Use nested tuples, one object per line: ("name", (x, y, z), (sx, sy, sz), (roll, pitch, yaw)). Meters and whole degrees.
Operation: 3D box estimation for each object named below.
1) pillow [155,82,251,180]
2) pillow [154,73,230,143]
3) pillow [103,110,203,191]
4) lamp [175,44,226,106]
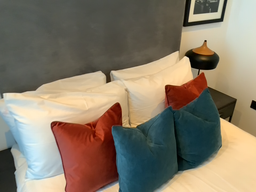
("pillow", (0.390, 0.180, 1.170), (0.360, 0.370, 0.240), (-17, 41, -27))
("pillow", (0.410, 0.070, 1.390), (0.430, 0.330, 0.150), (-17, 43, -27))
("pillow", (0.100, 0.290, 1.000), (0.390, 0.360, 0.140), (-17, 51, -27))
("lamp", (0.660, -0.200, 1.970), (0.270, 0.460, 0.270), (-17, 34, -28))
